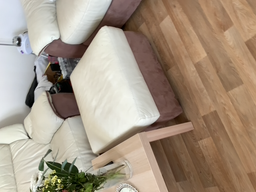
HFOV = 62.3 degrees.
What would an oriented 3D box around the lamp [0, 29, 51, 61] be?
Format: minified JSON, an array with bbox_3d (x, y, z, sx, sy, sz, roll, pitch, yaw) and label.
[{"bbox_3d":[-1.710,-0.620,2.420,0.390,1.500,0.300,30,116,44],"label":"lamp"}]

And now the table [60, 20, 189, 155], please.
[{"bbox_3d":[-0.070,-0.030,1.480,0.590,0.480,0.650,-36,67,46],"label":"table"}]
